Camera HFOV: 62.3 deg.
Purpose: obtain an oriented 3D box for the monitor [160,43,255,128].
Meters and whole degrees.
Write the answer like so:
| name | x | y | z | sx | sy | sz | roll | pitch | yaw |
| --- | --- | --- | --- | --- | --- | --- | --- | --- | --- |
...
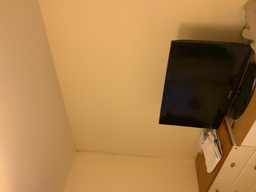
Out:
| name | x | y | z | sx | sy | sz | roll | pitch | yaw |
| --- | --- | --- | --- | --- | --- | --- | --- | --- | --- |
| monitor | 0.470 | -0.030 | 1.380 | 0.040 | 0.470 | 0.650 | -82 | -7 | -48 |
